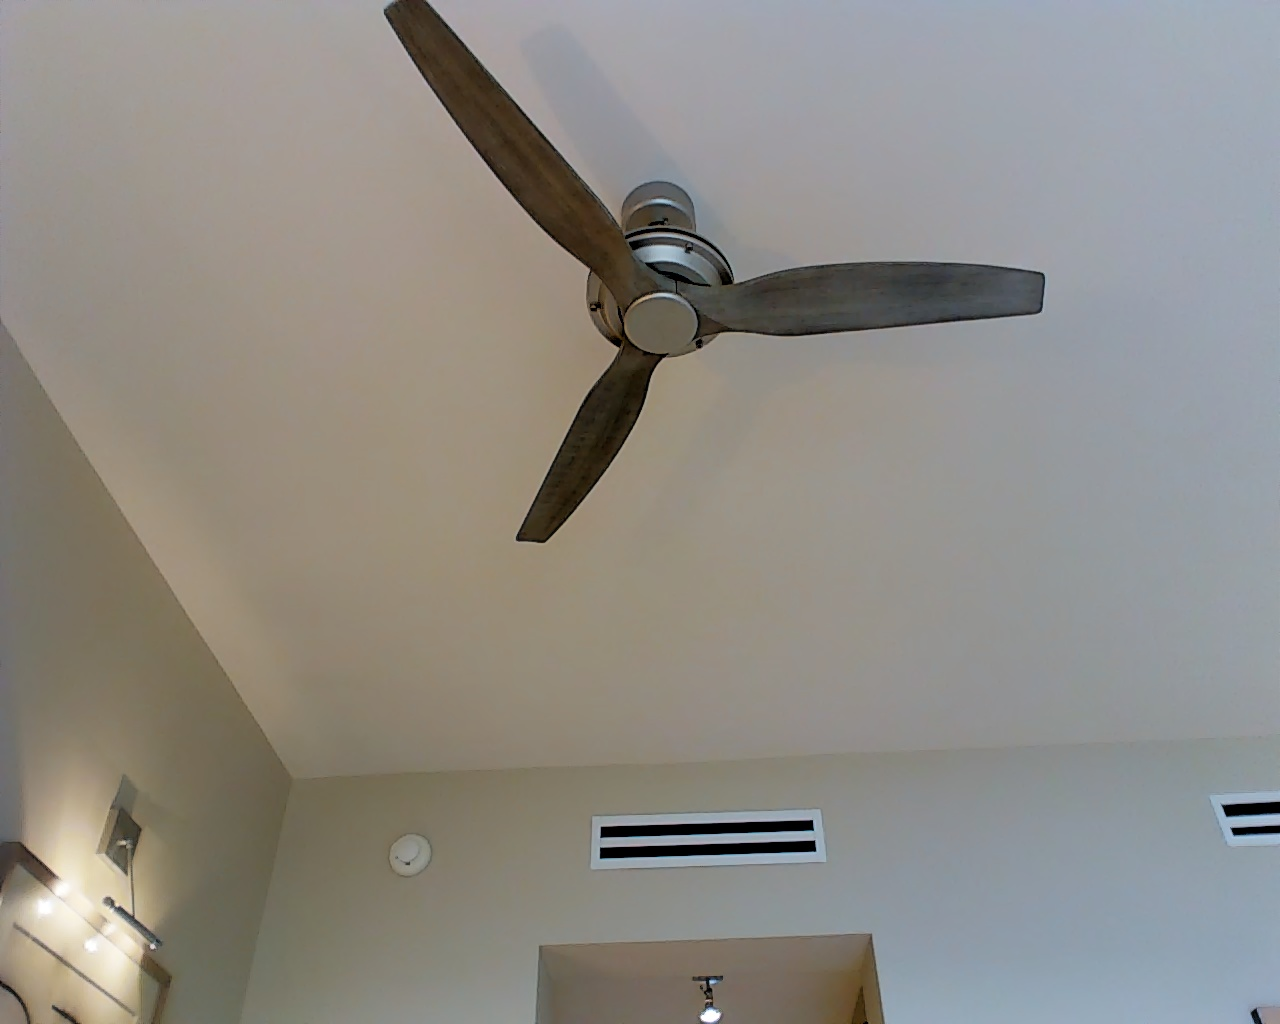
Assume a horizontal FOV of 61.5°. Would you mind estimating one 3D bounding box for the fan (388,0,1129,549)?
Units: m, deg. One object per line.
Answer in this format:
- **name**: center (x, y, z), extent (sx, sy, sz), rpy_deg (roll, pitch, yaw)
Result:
- **fan**: center (0.200, -0.370, 1.930), extent (1.020, 0.120, 1.140), rpy_deg (-3, -42, 3)
